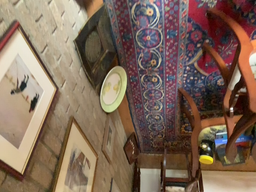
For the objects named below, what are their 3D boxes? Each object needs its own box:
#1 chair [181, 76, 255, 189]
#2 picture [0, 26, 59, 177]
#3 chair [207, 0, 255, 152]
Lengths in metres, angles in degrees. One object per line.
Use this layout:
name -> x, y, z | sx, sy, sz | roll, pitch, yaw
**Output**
chair -> 0.760, 0.280, 1.790 | 0.530, 0.810, 0.440 | -1, 141, 10
picture -> -0.400, 0.010, 0.780 | 0.040, 0.460, 0.310 | 0, 141, 9
chair -> 0.820, -0.160, 1.210 | 0.530, 0.830, 0.440 | -1, 141, 10
